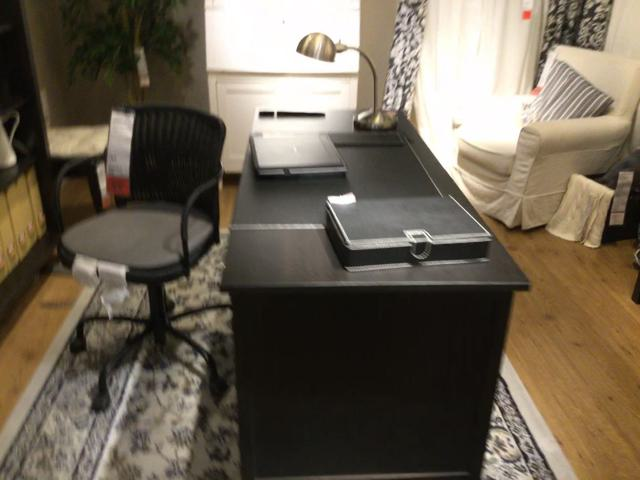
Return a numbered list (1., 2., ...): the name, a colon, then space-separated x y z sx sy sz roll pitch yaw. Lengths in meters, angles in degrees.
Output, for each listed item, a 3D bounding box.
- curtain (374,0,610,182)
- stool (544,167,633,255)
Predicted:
1. curtain: 0.970 -1.490 3.290 1.190 2.280 0.470 0 25 0
2. stool: 1.310 -0.150 2.850 0.190 0.330 0.300 -9 27 -17
